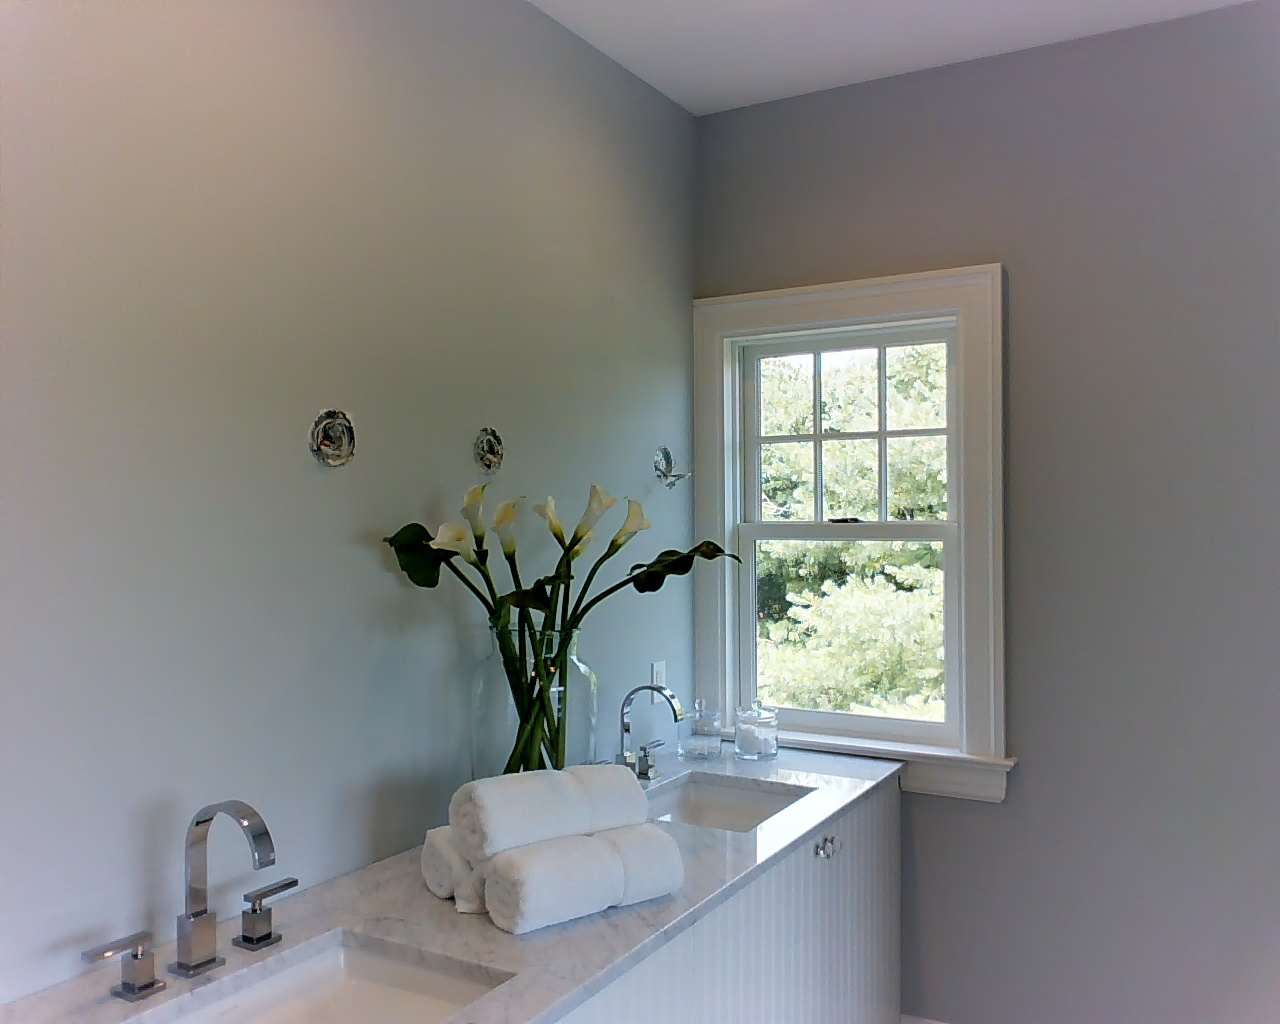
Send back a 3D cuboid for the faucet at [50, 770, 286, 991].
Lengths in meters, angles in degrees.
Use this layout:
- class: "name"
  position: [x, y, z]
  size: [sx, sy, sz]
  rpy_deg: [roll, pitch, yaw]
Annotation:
- class: "faucet"
  position: [-0.710, 0.550, 1.660]
  size: [0.020, 0.220, 0.400]
  rpy_deg: [-1, -1, 30]
